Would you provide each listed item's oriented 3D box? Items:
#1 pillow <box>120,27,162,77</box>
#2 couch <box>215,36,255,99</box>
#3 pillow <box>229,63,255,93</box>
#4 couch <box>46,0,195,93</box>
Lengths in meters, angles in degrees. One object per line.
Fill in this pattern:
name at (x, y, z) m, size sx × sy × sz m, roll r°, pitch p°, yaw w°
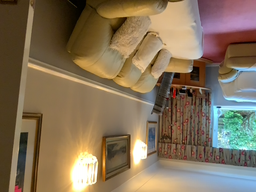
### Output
pillow at (0.170, -0.520, 2.600) m, size 0.230 × 0.440 × 0.440 m, roll -28°, pitch 166°, yaw 16°
couch at (2.350, -0.440, 3.650) m, size 1.540 × 0.910 × 0.950 m, roll 0°, pitch 174°, yaw 25°
pillow at (2.120, -0.320, 3.800) m, size 0.440 × 0.350 × 0.120 m, roll -28°, pitch 166°, yaw 16°
couch at (0.210, -0.640, 2.510) m, size 0.980 × 0.960 × 2.090 m, roll 1°, pitch 174°, yaw 21°
